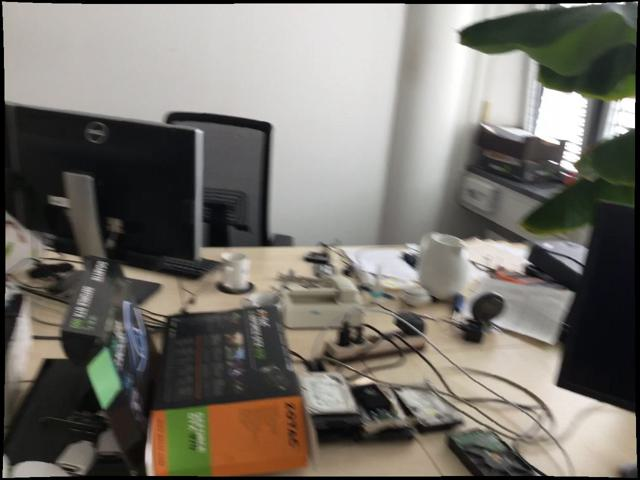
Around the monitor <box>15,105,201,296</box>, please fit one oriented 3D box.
[{"bbox_3d":[-0.579,-0.120,1.620,0.460,0.450,0.160,9,20,14],"label":"monitor"}]

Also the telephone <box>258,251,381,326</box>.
[{"bbox_3d":[-0.010,0.130,1.650,0.290,0.110,0.230,-2,21,-17],"label":"telephone"}]

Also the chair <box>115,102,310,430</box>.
[{"bbox_3d":[-0.380,0.070,2.300,0.599,1.101,0.680,3,20,-3],"label":"chair"}]
